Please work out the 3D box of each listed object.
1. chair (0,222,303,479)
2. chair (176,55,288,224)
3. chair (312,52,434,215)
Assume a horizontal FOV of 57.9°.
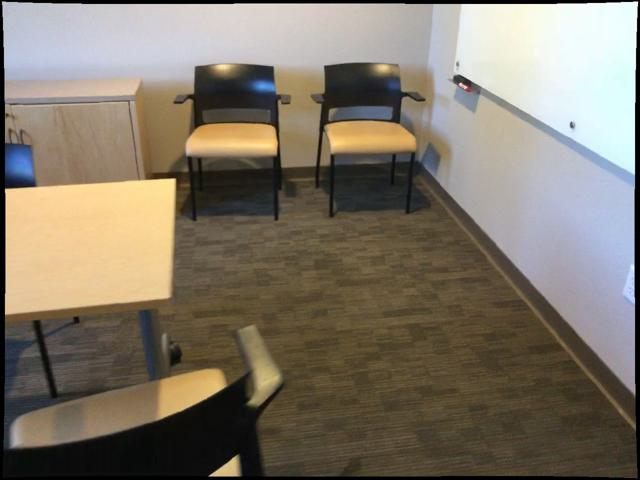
[{"bbox_3d":[-0.410,0.470,1.270,0.570,0.781,0.530,-12,32,-23],"label":"chair"},{"bbox_3d":[-0.490,-0.591,3.290,0.539,0.761,0.630,-3,30,-9],"label":"chair"},{"bbox_3d":[0.270,-0.651,3.430,0.529,0.761,0.660,-3,30,-9],"label":"chair"}]
